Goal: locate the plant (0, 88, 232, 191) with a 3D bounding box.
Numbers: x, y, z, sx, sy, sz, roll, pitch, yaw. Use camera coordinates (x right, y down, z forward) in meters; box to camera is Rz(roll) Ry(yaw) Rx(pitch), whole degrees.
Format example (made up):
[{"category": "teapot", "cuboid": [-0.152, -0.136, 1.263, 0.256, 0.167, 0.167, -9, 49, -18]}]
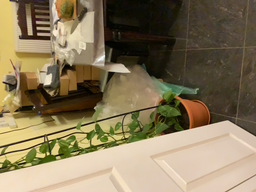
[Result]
[{"category": "plant", "cuboid": [-0.100, 0.170, 1.140, 0.420, 1.620, 0.290, 16, 107, 53]}]
